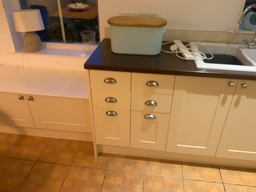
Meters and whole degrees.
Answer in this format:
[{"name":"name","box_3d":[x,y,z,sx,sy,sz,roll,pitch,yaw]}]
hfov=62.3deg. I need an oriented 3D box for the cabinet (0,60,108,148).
[{"name":"cabinet","box_3d":[-1.150,0.030,2.170,1.790,0.600,0.510,5,32,6]}]
